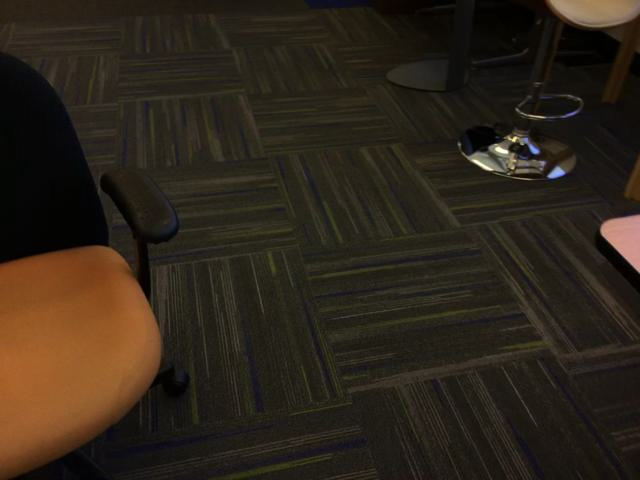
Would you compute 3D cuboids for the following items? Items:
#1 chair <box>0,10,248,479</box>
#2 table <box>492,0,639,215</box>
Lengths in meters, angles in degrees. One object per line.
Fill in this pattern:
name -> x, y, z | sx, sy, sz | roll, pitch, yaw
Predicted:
chair -> -0.600, 0.160, 1.070 | 0.680, 0.910, 0.660 | -18, 36, -21
table -> 1.330, -0.920, 2.230 | 0.730, 1.150, 1.120 | -9, 34, -9
